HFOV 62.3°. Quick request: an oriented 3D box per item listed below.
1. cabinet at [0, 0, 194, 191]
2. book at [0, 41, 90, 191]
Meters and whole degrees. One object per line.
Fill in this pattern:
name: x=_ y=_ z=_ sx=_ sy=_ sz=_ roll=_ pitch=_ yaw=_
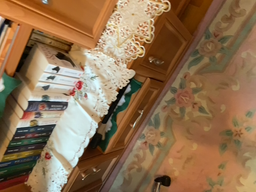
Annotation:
cabinet: x=-0.200 y=-0.020 z=1.240 sx=0.540 sy=0.560 sz=1.070 roll=36 pitch=103 yaw=25
book: x=-0.450 y=0.100 z=0.970 sx=0.200 sy=0.230 sz=0.620 roll=35 pitch=103 yaw=24
